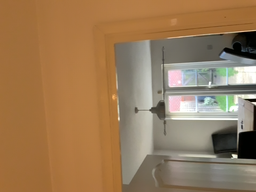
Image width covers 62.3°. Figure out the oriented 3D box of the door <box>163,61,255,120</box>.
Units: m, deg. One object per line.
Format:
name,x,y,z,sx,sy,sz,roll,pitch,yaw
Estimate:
door,1.810,-0.090,4.580,0.070,2.070,1.210,-20,-72,-76
